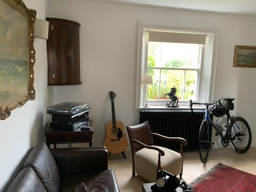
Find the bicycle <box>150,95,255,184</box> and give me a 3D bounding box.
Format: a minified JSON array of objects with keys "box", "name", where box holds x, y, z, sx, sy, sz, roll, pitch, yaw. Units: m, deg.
[{"box":[1.360,0.590,3.450,1.920,1.080,0.590,-2,9,-24],"name":"bicycle"}]
